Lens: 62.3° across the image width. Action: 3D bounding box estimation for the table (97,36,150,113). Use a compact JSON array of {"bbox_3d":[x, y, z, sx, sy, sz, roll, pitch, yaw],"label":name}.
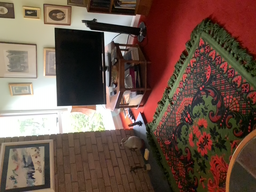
[{"bbox_3d":[-0.110,-0.270,2.990,0.920,0.440,0.900,-172,82,-67],"label":"table"}]
